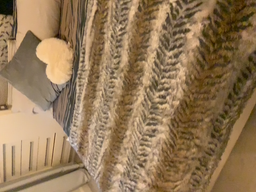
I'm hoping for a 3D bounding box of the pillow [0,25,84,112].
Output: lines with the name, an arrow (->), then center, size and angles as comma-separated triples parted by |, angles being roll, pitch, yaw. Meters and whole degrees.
pillow -> -0.860, -0.200, 2.000 | 0.610, 0.580, 0.470 | -17, 70, 22
